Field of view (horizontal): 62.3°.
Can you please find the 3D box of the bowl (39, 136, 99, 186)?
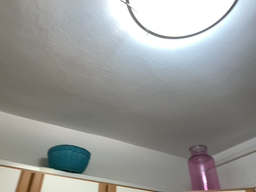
[{"bbox_3d":[-0.290,0.330,1.050,0.220,0.150,0.190,18,-40,-22],"label":"bowl"}]
